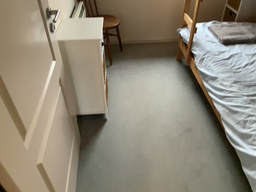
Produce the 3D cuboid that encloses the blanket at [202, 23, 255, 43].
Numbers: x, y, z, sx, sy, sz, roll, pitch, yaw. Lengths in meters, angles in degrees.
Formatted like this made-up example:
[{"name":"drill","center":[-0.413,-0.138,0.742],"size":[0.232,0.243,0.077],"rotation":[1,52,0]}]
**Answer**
[{"name":"blanket","center":[1.080,-0.660,2.200],"size":[0.510,0.030,0.380],"rotation":[-2,41,-2]}]
